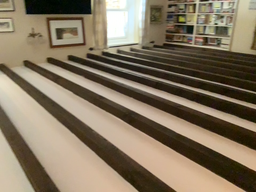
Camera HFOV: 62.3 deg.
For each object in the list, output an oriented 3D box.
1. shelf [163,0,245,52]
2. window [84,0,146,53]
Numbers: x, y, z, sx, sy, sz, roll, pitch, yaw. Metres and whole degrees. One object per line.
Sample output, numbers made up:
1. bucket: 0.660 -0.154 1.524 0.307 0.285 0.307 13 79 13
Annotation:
1. shelf: 1.700 -2.330 4.890 0.290 2.330 1.850 -16 -153 -37
2. window: -0.260 -2.170 4.870 1.400 2.130 0.490 -16 -153 -37
